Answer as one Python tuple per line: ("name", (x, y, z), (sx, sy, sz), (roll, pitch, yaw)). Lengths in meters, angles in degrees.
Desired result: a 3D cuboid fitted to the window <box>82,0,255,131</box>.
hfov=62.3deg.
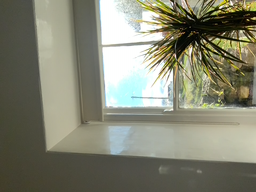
("window", (0.320, -0.330, 1.190), (0.090, 1.170, 1.040), (-31, -60, -75))
